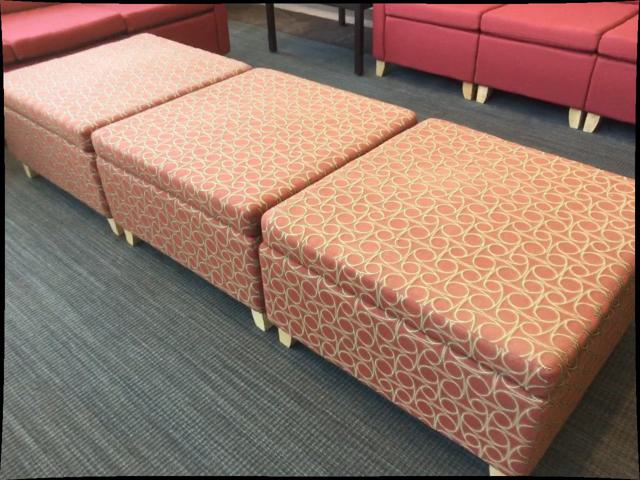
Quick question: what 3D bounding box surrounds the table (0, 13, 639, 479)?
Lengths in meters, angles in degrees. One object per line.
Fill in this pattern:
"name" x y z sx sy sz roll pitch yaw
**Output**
"table" -0.200 -0.180 1.990 2.389 0.531 0.860 30 45 33
